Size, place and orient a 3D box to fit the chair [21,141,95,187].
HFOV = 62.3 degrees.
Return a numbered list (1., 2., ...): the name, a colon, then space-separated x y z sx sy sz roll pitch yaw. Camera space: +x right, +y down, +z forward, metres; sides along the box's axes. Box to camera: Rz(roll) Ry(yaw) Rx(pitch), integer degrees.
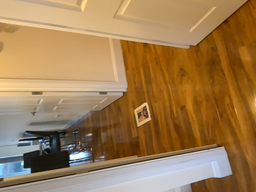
1. chair: -1.230 1.180 3.700 0.660 1.080 0.510 -40 57 53
